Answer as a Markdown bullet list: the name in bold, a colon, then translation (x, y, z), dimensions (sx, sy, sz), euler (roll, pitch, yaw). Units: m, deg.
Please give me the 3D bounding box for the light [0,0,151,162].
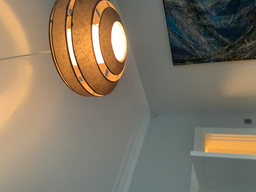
- **light**: translation (-0.410, -0.180, 0.960), dimensions (0.830, 0.470, 0.510), euler (22, 134, 2)
